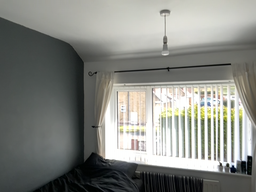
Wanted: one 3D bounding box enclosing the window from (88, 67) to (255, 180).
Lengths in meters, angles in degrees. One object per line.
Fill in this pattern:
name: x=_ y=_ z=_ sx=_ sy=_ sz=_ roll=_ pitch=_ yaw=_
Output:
window: x=0.460 y=0.280 z=2.740 sx=2.210 sy=1.170 sz=0.230 roll=0 pitch=1 yaw=26
